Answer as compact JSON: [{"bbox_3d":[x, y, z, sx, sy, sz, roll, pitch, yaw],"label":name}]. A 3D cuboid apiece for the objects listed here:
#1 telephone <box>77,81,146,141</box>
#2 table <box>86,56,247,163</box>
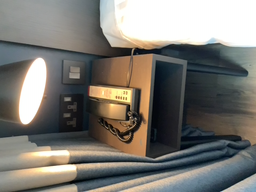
[{"bbox_3d":[-0.070,0.040,0.780,0.250,0.120,0.170,10,98,50],"label":"telephone"},{"bbox_3d":[0.170,0.020,0.920,0.410,0.550,0.300,9,97,50],"label":"table"}]
